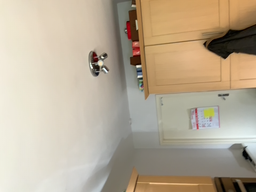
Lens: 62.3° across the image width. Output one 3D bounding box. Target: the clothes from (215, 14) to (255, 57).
[{"bbox_3d":[1.390,-0.650,2.230,0.280,0.840,0.380,-46,-49,-74],"label":"clothes"}]
